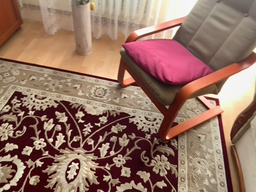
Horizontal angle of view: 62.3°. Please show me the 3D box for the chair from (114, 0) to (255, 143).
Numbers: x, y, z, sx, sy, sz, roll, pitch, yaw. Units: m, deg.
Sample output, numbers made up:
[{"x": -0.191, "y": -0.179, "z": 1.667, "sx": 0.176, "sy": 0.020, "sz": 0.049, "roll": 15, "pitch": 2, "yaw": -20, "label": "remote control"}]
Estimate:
[{"x": 0.420, "y": -0.330, "z": 1.450, "sx": 0.790, "sy": 0.980, "sz": 0.630, "roll": -20, "pitch": 54, "yaw": -23, "label": "chair"}]

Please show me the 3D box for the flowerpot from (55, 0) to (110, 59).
[{"x": -0.370, "y": -0.880, "z": 1.810, "sx": 0.370, "sy": 1.030, "sz": 0.400, "roll": 9, "pitch": 48, "yaw": 1, "label": "flowerpot"}]
